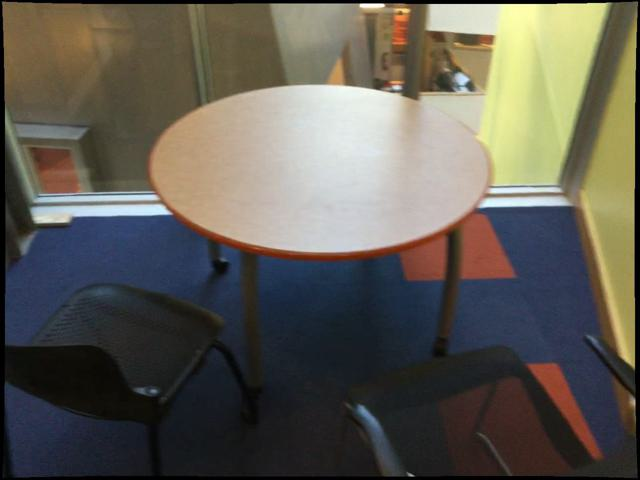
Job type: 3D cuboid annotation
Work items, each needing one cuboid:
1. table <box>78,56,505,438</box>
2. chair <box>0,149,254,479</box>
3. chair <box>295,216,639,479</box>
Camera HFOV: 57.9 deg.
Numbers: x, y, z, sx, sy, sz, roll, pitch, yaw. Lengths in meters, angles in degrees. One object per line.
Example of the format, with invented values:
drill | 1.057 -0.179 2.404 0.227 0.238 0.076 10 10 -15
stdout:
table | 0.010 -0.070 2.040 1.079 0.680 1.080 8 40 9
chair | -0.539 0.300 1.480 0.490 0.790 0.620 11 40 13
chair | 0.360 0.480 1.300 0.699 0.750 0.640 -8 40 -11
